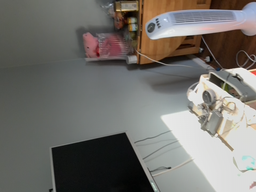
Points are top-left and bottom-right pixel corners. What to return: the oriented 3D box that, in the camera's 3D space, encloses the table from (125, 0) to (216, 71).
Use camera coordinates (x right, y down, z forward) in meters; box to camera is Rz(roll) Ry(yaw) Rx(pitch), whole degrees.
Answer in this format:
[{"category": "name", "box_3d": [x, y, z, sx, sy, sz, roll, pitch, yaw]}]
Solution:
[{"category": "table", "box_3d": [0.380, -0.770, 2.000, 0.360, 0.720, 0.910, -124, 29, -51]}]
